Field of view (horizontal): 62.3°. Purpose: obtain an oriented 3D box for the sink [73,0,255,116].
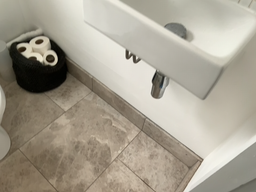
[{"bbox_3d":[0.080,-0.180,0.570,0.410,0.160,0.220,37,58,18],"label":"sink"}]
